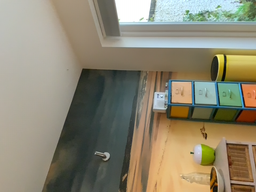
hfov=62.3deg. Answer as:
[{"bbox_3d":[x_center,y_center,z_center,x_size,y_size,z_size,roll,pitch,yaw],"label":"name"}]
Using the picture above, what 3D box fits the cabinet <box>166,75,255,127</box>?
[{"bbox_3d":[1.030,0.060,2.070,0.350,1.270,0.320,79,-162,-56],"label":"cabinet"}]
